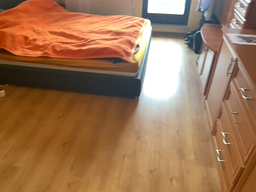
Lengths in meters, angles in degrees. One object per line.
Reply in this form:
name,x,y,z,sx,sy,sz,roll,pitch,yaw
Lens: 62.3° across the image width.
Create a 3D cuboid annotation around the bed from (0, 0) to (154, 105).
bed,-0.780,-0.880,2.990,2.100,0.860,1.770,7,37,7
